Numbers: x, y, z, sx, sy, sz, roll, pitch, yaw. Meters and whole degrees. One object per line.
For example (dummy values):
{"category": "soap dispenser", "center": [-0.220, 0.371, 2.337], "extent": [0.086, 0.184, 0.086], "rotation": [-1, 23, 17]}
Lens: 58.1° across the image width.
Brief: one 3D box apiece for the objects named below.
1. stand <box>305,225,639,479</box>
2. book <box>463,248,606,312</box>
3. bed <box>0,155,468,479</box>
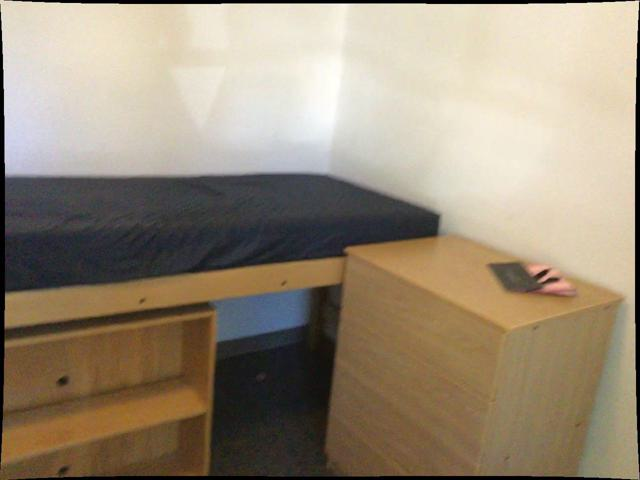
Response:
{"category": "stand", "center": [0.489, 0.561, 2.150], "extent": [0.649, 1.011, 0.810], "rotation": [-4, 21, -34]}
{"category": "book", "center": [0.719, 0.130, 1.990], "extent": [0.379, 0.050, 0.340], "rotation": [8, 17, 0]}
{"category": "bed", "center": [-0.679, 0.331, 2.410], "extent": [2.227, 1.132, 1.120], "rotation": [-4, 21, -34]}
